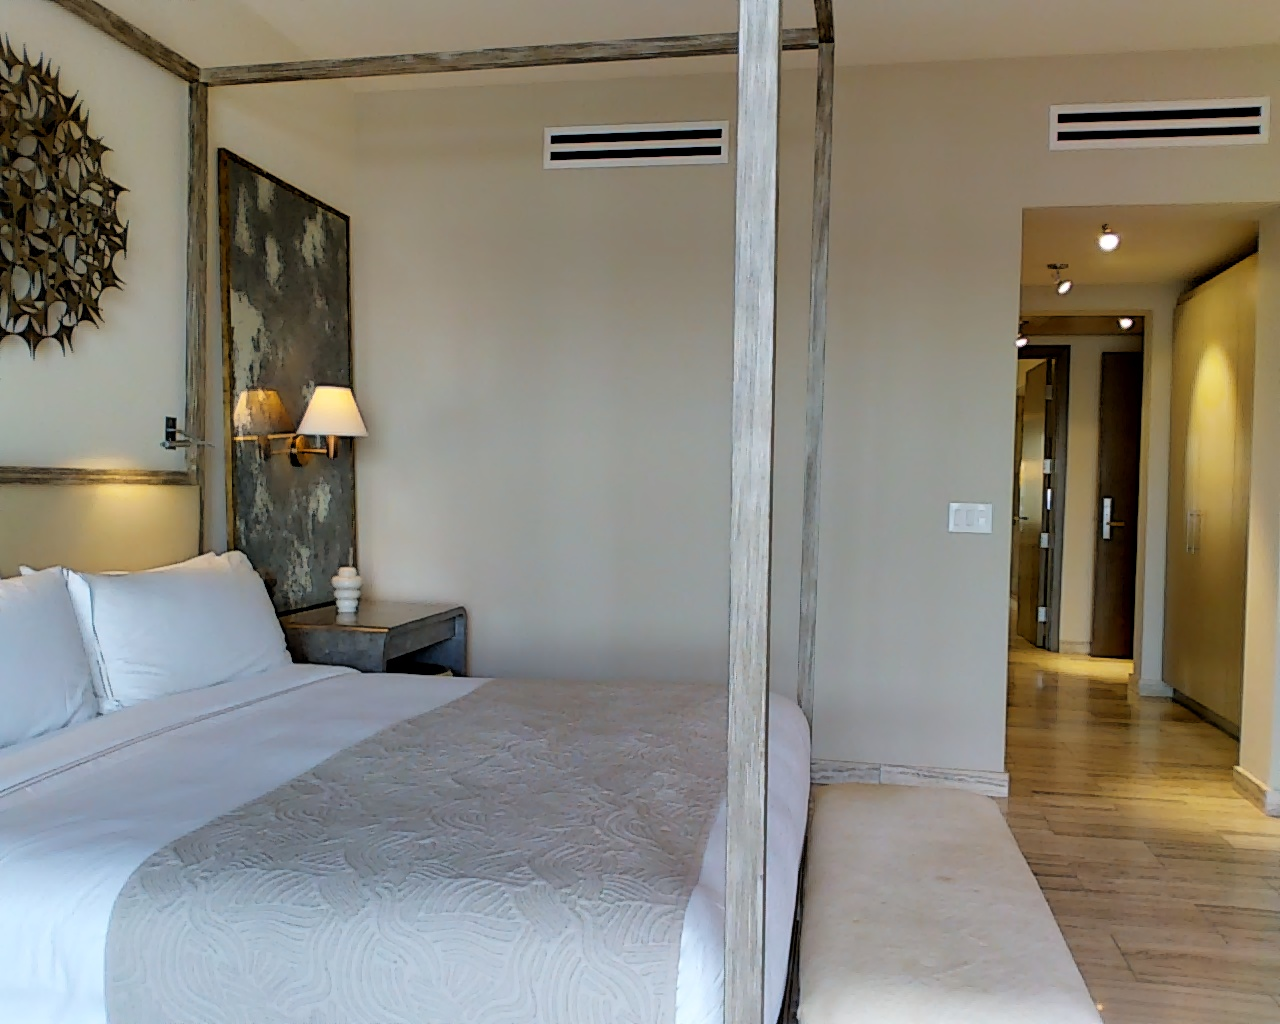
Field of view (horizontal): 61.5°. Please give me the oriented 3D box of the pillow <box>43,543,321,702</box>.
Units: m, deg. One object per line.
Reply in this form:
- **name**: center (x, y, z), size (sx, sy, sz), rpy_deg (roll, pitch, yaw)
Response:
- **pillow**: center (-1.290, 0.290, 3.150), size (0.300, 0.340, 0.880), rpy_deg (2, 2, 11)
